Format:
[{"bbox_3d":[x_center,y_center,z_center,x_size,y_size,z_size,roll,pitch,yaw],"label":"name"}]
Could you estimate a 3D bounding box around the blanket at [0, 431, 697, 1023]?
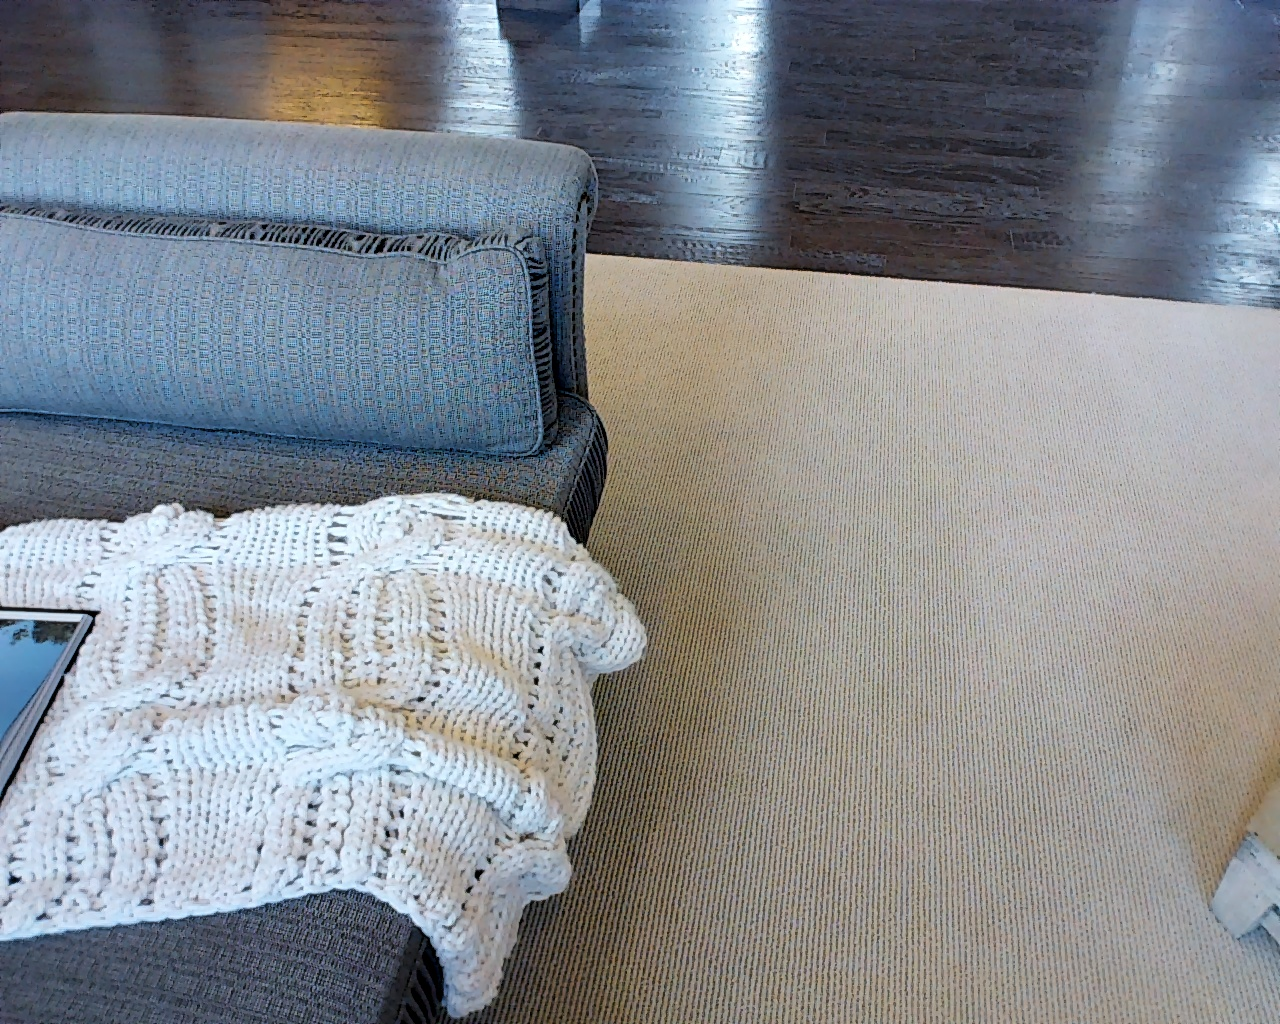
[{"bbox_3d":[-0.620,0.350,1.330,1.310,0.530,0.690,-3,42,-2],"label":"blanket"}]
